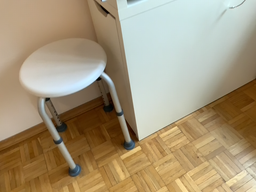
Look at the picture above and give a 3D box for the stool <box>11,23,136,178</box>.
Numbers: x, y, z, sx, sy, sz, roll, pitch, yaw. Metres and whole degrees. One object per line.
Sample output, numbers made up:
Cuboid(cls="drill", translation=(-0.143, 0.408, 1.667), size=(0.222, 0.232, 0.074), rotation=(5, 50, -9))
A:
Cuboid(cls="stool", translation=(-0.210, 0.030, 0.940), size=(0.320, 0.500, 0.360), rotation=(-25, 49, -14))
